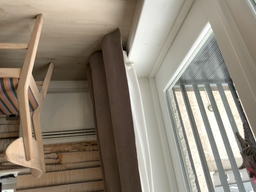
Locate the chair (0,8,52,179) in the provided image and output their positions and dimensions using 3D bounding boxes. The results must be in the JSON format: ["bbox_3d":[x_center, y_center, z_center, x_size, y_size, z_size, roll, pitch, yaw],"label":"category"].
[{"bbox_3d":[-0.770,0.000,1.220,0.550,0.850,0.520,-1,153,-14],"label":"chair"}]
